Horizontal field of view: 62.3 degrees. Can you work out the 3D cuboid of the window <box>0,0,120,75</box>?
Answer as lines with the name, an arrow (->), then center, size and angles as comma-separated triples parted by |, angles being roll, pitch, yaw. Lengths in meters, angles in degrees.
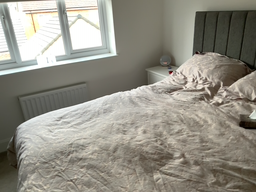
window -> -0.990, -0.940, 2.360 | 1.810, 1.210, 0.210 | -14, 25, -25
